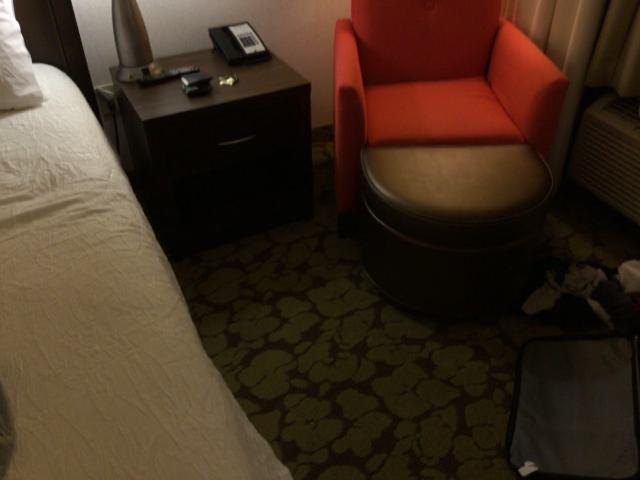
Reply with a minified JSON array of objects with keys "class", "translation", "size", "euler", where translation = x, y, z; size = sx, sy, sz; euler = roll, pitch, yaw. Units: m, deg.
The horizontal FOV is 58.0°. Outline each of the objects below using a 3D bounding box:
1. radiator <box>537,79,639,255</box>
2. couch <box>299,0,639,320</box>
[{"class":"radiator","translation":[1.240,-0.140,1.950],"size":[0.210,0.440,1.020],"euler":[-21,42,-22]},{"class":"couch","translation":[0.430,-0.470,2.080],"size":[0.850,0.900,1.180],"euler":[1,39,4]}]
